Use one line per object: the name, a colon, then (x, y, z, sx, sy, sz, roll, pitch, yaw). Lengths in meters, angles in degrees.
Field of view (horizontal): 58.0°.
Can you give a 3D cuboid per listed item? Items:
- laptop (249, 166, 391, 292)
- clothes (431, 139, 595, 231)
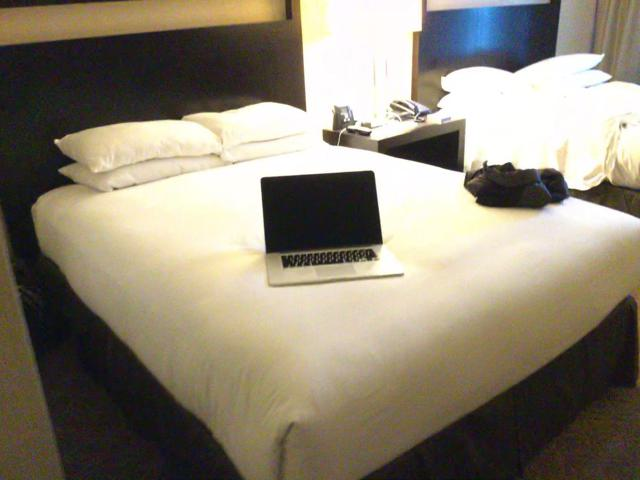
laptop: (-0.010, -0.050, 1.660, 0.350, 0.210, 0.400, -5, 21, -3)
clothes: (0.670, -0.210, 2.030, 0.380, 0.170, 0.390, -20, 26, -33)
